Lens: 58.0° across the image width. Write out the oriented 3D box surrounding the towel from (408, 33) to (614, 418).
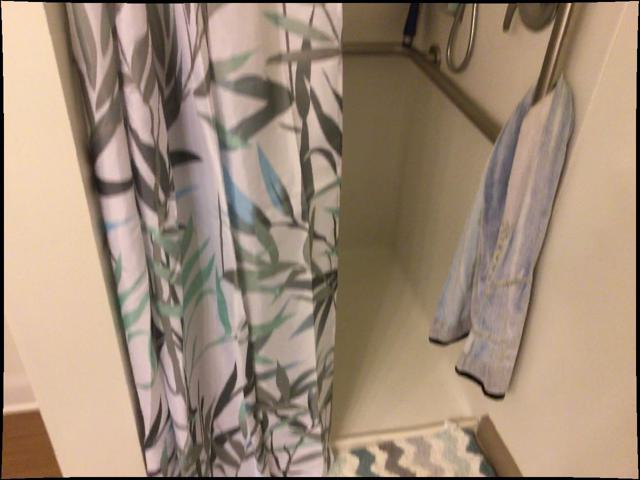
[{"bbox_3d":[0.399,-0.010,1.410,0.190,0.851,0.380,-8,36,-10],"label":"towel"}]
